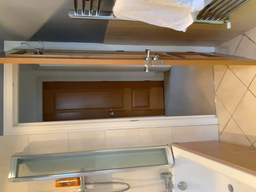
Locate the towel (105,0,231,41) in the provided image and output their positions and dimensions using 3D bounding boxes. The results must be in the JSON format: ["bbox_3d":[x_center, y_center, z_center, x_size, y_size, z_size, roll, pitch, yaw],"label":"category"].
[{"bbox_3d":[0.170,-0.460,1.150,0.430,0.540,0.150,152,116,-77],"label":"towel"}]
